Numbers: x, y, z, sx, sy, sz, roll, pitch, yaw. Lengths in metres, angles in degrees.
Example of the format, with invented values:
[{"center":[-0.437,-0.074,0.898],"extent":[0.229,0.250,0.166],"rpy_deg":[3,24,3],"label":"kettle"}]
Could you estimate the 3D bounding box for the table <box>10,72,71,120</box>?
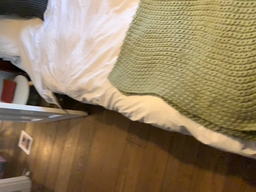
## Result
[{"center":[-0.900,0.010,2.200],"extent":[0.290,0.420,0.400],"rpy_deg":[16,93,41],"label":"table"}]
